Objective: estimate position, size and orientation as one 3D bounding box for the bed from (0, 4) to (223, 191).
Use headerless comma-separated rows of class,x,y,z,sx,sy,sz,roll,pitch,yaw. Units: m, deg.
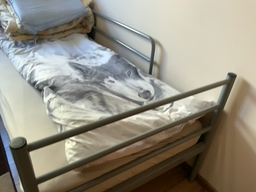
bed,-0.590,-0.170,1.660,0.890,0.590,2.260,-17,39,-31
